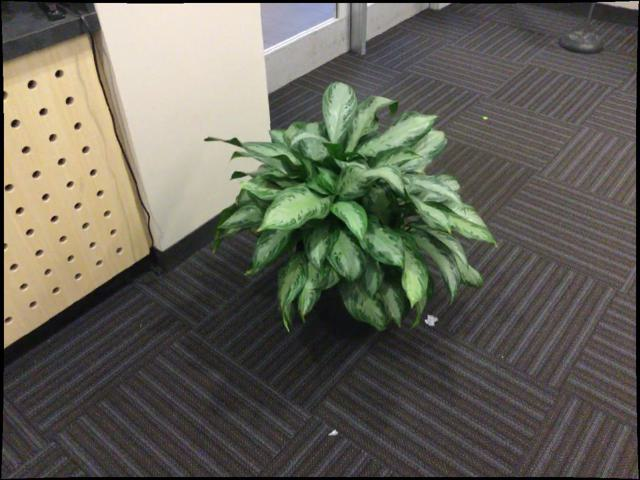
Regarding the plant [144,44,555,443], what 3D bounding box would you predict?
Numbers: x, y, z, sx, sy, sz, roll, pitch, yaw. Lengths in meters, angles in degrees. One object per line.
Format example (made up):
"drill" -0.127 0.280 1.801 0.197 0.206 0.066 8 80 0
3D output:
"plant" 0.080 -0.050 1.640 0.779 0.621 0.660 29 51 32
